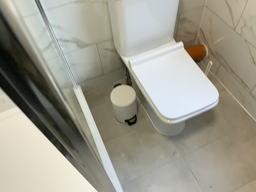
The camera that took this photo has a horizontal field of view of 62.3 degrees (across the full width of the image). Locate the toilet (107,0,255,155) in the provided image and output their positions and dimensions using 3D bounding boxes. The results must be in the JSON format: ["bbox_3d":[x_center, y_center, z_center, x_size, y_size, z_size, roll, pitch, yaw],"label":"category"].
[{"bbox_3d":[0.220,-0.170,1.240,0.410,0.810,0.670,-21,57,-10],"label":"toilet"}]
